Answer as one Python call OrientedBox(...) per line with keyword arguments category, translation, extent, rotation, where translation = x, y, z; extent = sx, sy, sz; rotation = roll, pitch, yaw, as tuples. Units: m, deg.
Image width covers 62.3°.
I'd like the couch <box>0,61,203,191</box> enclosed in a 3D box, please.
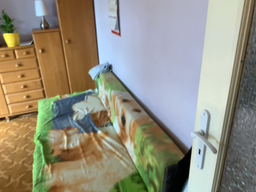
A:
OrientedBox(category="couch", translation=(-0.380, 0.330, 1.950), extent=(0.930, 0.750, 2.010), rotation=(-9, 25, -16))
